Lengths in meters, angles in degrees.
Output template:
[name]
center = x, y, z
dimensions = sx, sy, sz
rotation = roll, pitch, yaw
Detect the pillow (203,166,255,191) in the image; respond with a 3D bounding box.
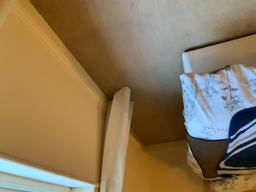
[pillow]
center = 1.170, 0.970, 2.360
dimensions = 0.600, 0.430, 0.150
rotation = -9, -136, 13
